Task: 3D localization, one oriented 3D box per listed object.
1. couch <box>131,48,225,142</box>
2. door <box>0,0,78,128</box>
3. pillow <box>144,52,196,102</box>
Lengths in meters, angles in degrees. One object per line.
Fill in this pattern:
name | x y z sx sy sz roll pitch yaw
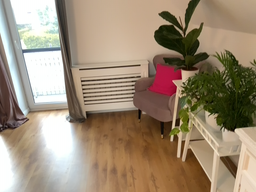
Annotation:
couch | 0.570 -0.080 2.900 0.920 0.920 1.000 -4 22 -4
door | -1.990 -0.730 3.260 2.050 2.600 0.200 -7 23 -11
pillow | 0.560 -0.260 2.860 0.500 0.420 0.230 44 34 18
